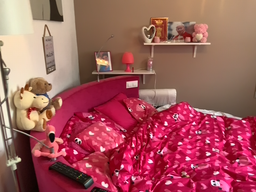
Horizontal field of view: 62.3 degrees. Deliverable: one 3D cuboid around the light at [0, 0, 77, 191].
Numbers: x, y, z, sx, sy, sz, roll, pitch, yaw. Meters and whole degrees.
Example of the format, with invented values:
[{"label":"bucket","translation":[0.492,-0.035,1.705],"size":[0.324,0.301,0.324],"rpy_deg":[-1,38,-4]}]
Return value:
[{"label":"light","translation":[-0.480,0.380,0.920],"size":[0.430,1.750,0.260],"rpy_deg":[0,18,2]}]
